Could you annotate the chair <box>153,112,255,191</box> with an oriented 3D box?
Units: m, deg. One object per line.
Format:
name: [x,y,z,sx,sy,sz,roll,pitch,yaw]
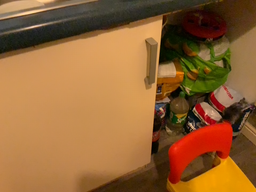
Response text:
chair: [0.340,0.370,0.880,0.330,0.420,0.330,-18,47,-16]
